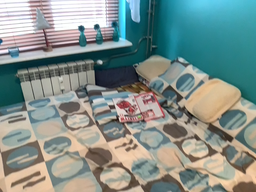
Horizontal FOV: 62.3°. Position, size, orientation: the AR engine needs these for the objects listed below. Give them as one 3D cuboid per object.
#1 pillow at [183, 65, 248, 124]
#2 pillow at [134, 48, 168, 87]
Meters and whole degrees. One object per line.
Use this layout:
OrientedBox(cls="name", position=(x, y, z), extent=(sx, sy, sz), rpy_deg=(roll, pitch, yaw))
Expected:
OrientedBox(cls="pillow", position=(0.650, 0.000, 1.620), extent=(0.160, 0.340, 0.330), rpy_deg=(-13, 78, -31))
OrientedBox(cls="pillow", position=(0.240, -0.300, 2.220), extent=(0.190, 0.300, 0.370), rpy_deg=(-9, 100, -34))
